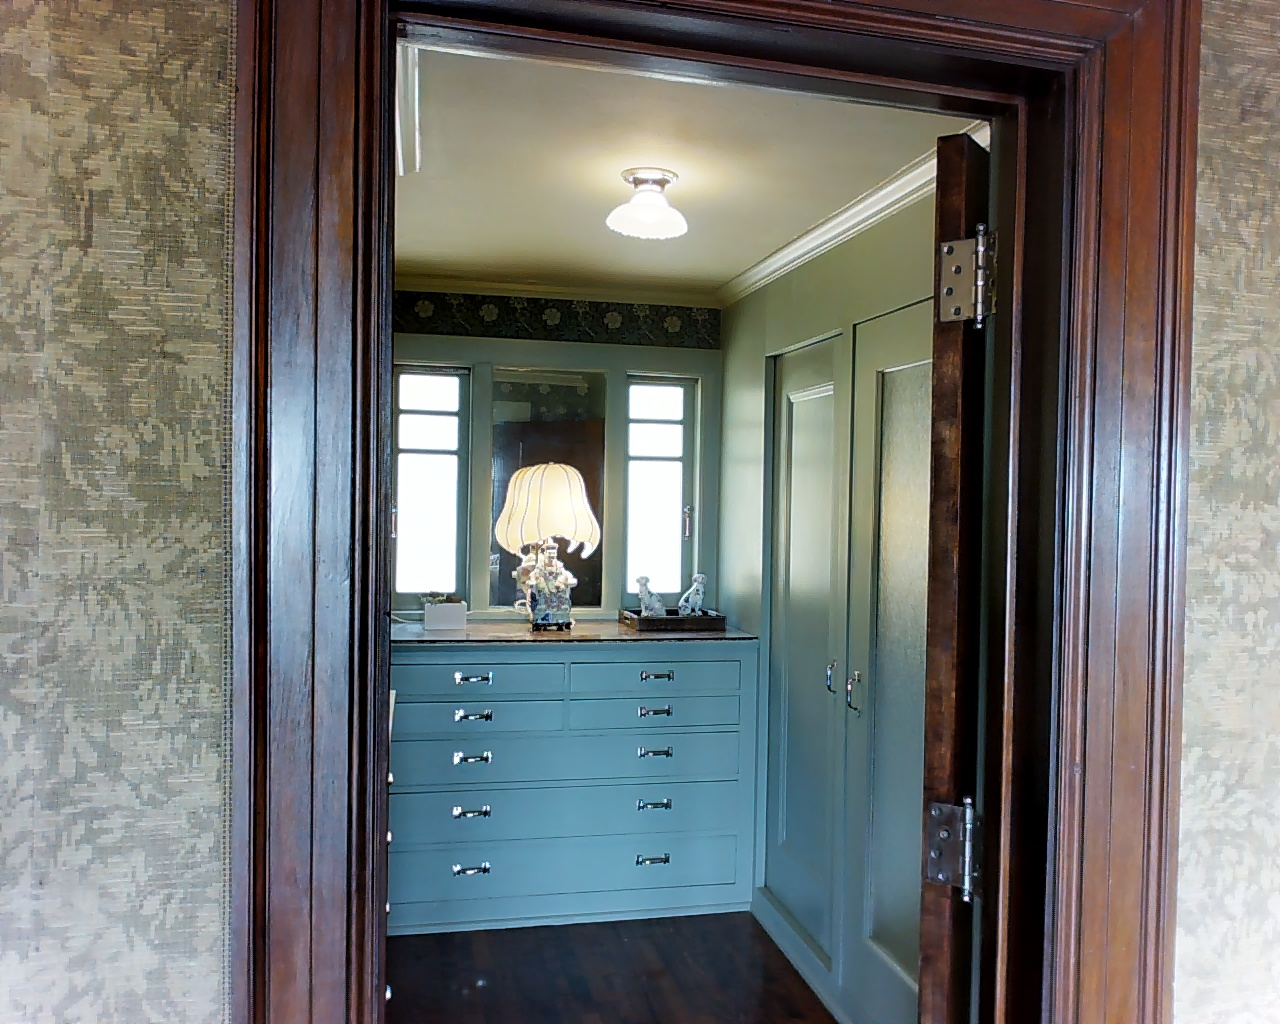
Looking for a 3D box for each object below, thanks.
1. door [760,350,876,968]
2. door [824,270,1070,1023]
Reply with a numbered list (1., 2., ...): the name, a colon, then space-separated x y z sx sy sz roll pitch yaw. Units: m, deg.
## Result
1. door: 0.600 0.460 3.730 0.100 1.940 0.700 1 0 -13
2. door: 0.760 0.520 2.850 0.130 2.100 0.980 1 0 -13
